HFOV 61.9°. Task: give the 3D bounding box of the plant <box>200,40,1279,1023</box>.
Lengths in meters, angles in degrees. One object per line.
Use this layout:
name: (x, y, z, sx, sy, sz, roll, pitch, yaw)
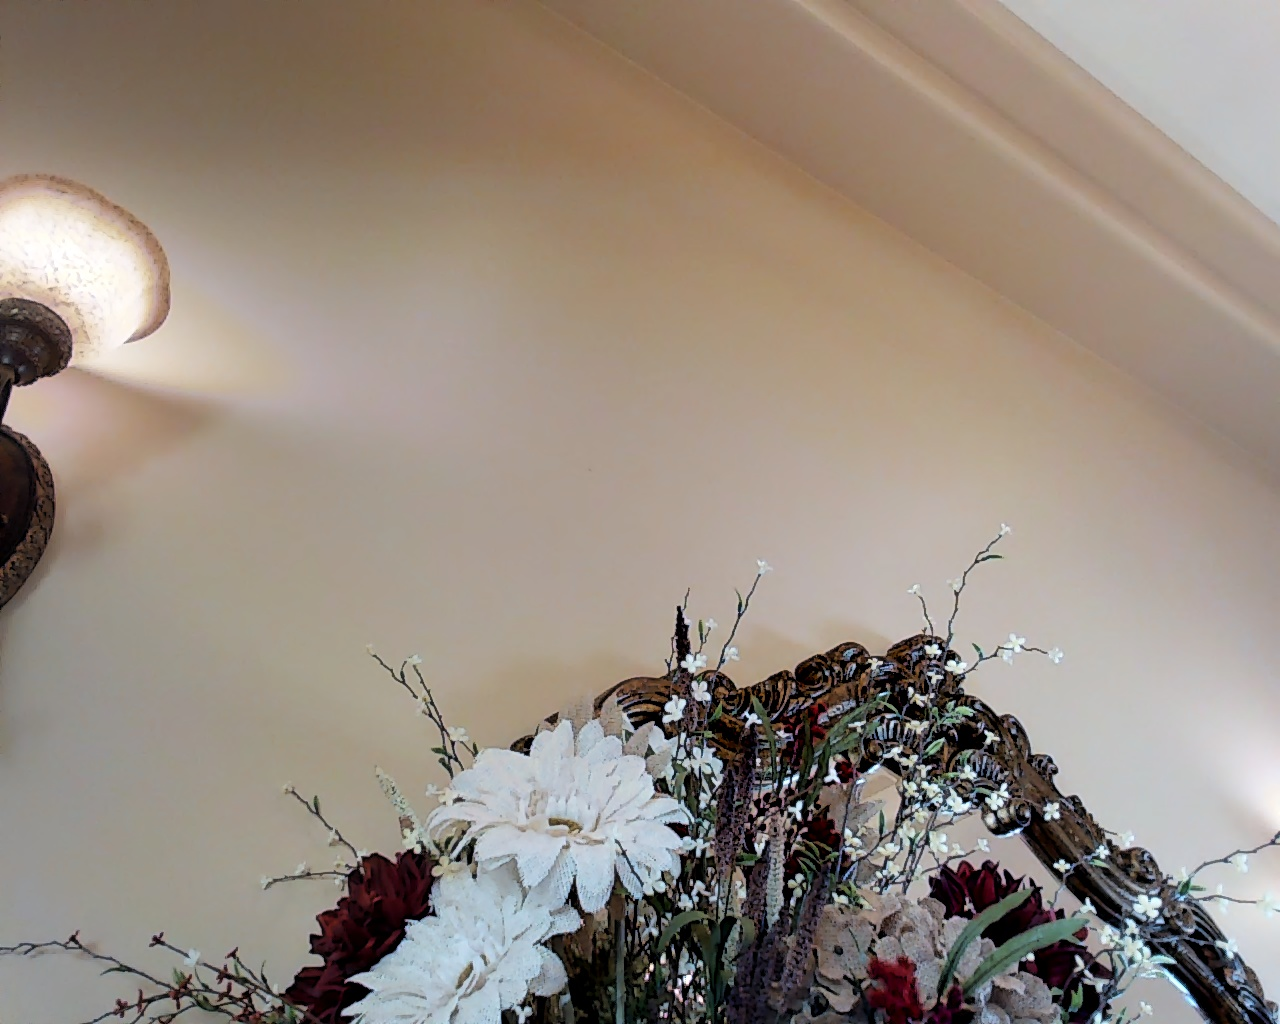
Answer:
plant: (0.080, 0.390, 0.710, 0.610, 1.260, 0.600, 23, -46, -24)
